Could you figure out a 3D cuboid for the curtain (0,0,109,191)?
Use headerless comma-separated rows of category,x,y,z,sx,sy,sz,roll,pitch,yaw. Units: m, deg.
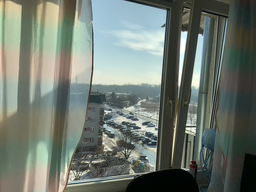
curtain,-0.410,-0.220,0.950,0.570,1.830,0.280,3,2,-22
